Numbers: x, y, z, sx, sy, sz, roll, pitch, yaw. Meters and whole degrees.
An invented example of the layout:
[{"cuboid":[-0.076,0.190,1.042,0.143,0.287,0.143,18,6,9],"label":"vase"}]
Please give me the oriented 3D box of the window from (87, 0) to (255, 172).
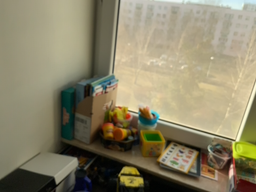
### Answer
[{"cuboid":[0.550,-0.350,0.940,1.540,1.420,0.140,15,22,19],"label":"window"}]
